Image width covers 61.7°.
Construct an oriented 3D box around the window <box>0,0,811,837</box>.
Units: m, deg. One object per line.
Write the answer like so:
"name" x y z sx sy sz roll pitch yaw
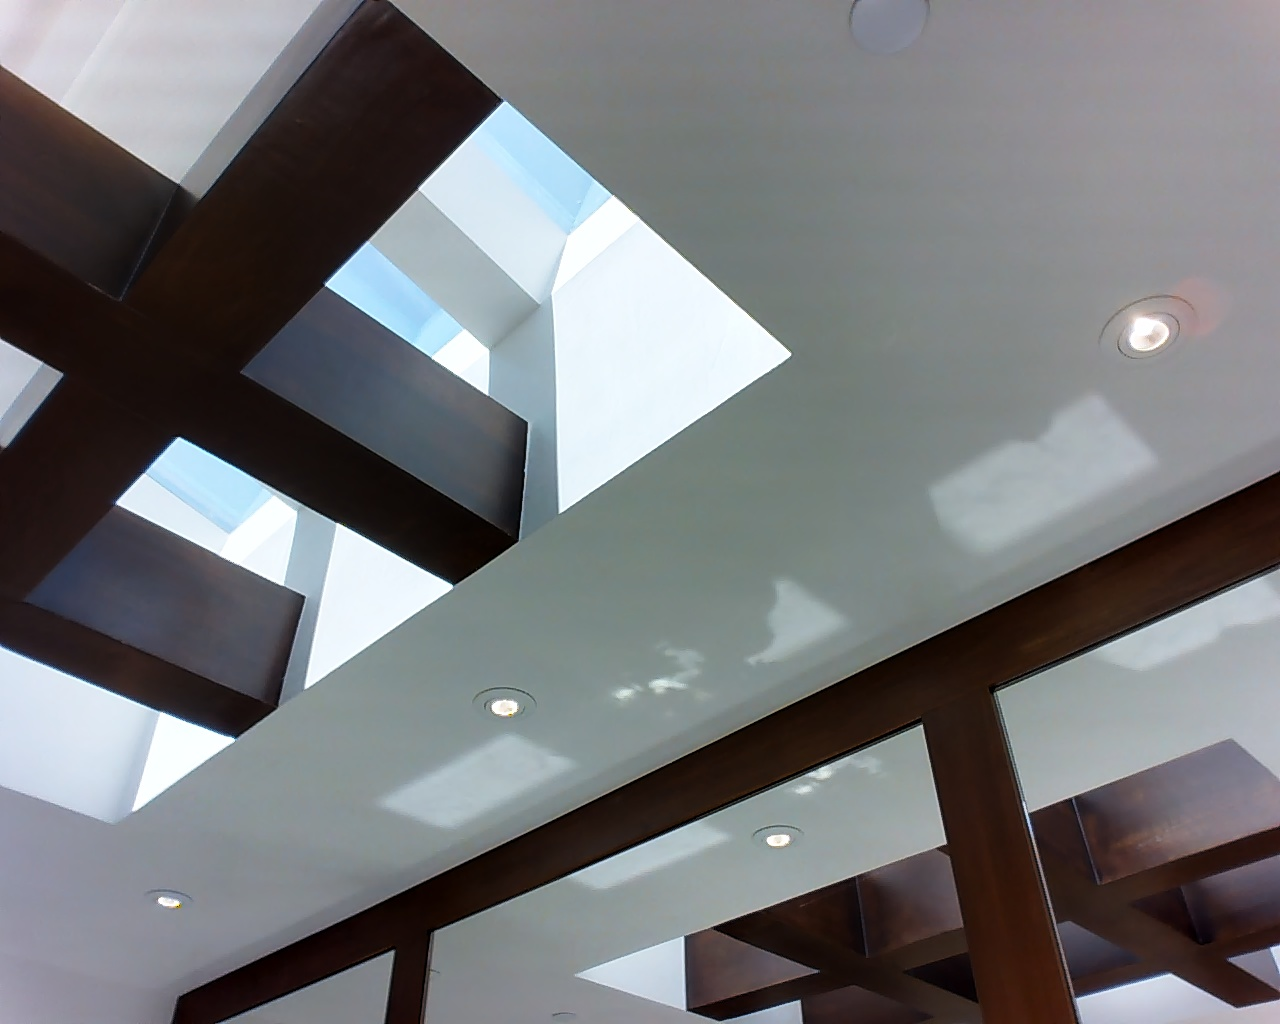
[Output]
"window" -1.190 -0.310 1.670 2.120 0.390 1.930 -32 -51 30
